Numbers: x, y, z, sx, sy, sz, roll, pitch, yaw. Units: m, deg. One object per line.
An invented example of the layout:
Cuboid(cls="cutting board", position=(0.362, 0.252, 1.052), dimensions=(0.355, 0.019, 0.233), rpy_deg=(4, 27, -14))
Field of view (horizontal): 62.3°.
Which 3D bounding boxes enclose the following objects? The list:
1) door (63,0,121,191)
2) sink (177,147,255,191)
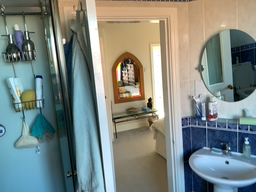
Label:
Cuboid(cls="door", position=(-0.200, 0.420, 1.270), dimensions=(0.090, 1.930, 0.750), rpy_deg=(-8, 10, -19))
Cuboid(cls="sink", position=(0.740, 0.610, 1.700), dimensions=(0.570, 0.170, 0.370), rpy_deg=(2, 11, 34))
